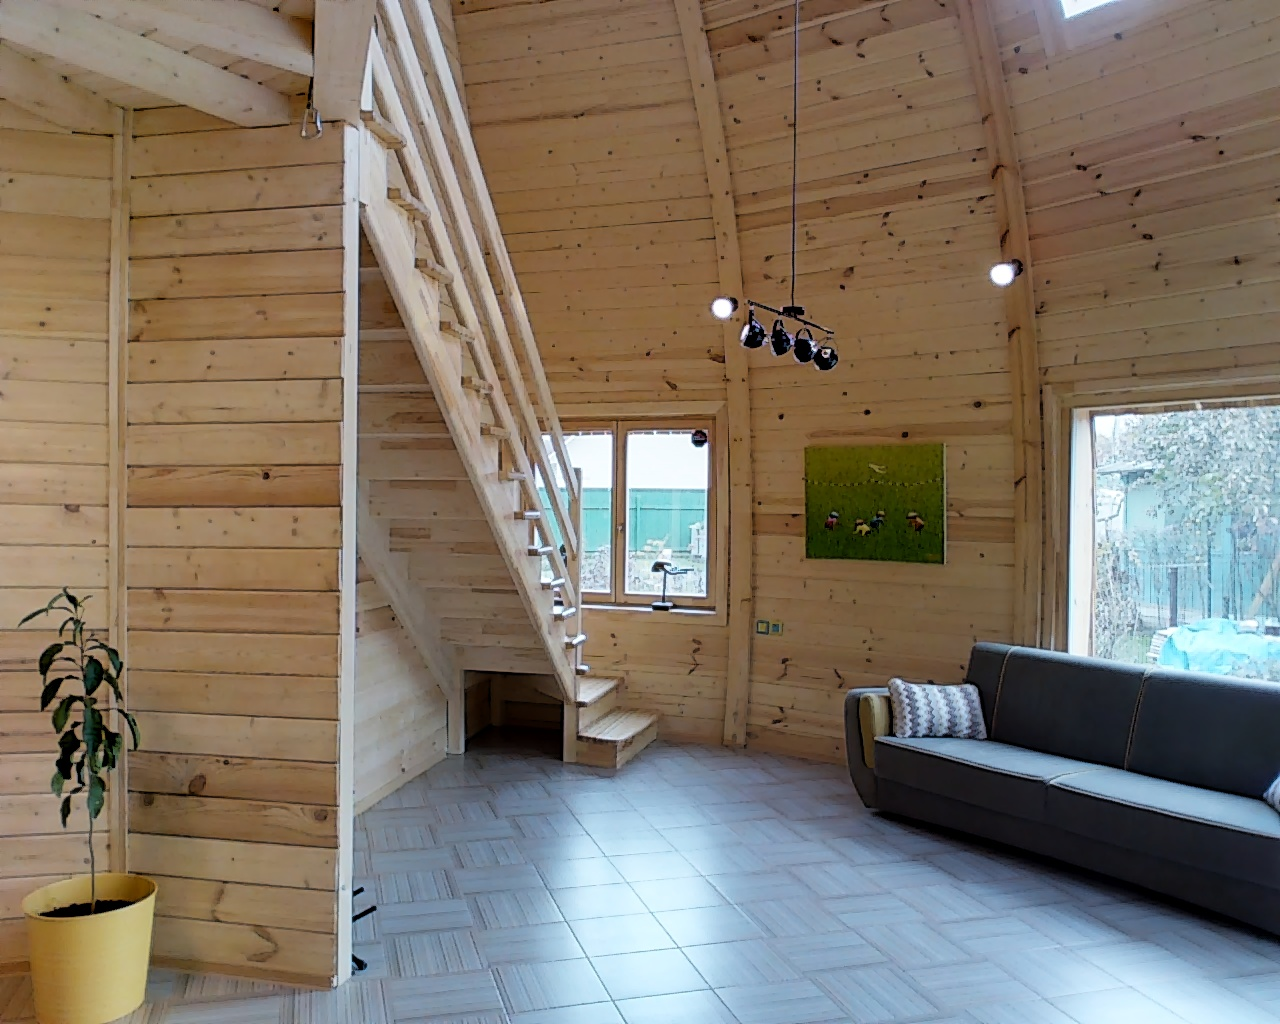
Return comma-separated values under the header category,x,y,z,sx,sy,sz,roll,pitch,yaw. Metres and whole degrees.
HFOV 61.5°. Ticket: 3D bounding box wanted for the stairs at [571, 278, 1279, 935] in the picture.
category,x,y,z,sx,sy,sz,roll,pitch,yaw
stairs,1.899,0.040,4.800,4.930,0.480,1.410,-38,-6,8
